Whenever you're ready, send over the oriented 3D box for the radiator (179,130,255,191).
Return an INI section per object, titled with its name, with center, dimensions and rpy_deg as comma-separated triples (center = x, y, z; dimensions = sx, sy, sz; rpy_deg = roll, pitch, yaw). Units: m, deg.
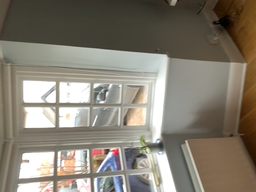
[radiator]
center = 0.820, 0.690, 1.650
dimensions = 0.110, 0.610, 0.870
rpy_deg = 112, 153, -51
